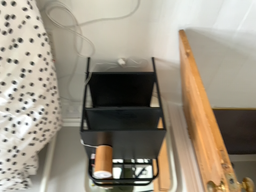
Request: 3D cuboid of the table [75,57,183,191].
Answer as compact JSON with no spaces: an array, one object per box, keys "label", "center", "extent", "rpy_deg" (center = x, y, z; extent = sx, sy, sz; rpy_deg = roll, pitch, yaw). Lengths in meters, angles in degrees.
[{"label":"table","center":[-0.030,0.180,1.420],"extent":[0.520,0.720,0.490],"rpy_deg":[1,143,-6]}]
